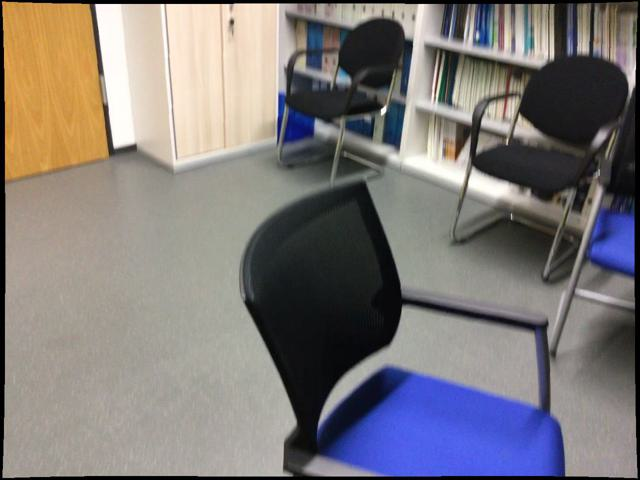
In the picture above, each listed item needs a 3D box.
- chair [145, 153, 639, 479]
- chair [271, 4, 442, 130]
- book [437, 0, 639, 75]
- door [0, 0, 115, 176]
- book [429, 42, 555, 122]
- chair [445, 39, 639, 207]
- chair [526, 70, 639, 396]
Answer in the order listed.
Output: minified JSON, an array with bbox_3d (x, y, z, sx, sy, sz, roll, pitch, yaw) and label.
[{"bbox_3d":[0.160,0.380,1.100,0.649,0.841,0.590,14,30,19],"label":"chair"},{"bbox_3d":[0.200,-1.011,3.270,0.780,0.510,0.540,-22,38,-39],"label":"chair"},{"bbox_3d":[1.149,-1.141,2.960,0.270,0.330,1.100,-22,38,-38],"label":"book"},{"bbox_3d":[-1.588,-1.361,2.690,1.010,2.172,0.120,-22,37,-39],"label":"door"},{"bbox_3d":[0.949,-0.901,3.250,0.240,0.290,0.600,-22,38,-38],"label":"book"},{"bbox_3d":[1.039,-0.561,2.560,0.740,0.490,0.560,-22,38,-39],"label":"chair"},{"bbox_3d":[1.199,-0.030,1.990,0.620,0.881,0.710,18,32,24],"label":"chair"}]
